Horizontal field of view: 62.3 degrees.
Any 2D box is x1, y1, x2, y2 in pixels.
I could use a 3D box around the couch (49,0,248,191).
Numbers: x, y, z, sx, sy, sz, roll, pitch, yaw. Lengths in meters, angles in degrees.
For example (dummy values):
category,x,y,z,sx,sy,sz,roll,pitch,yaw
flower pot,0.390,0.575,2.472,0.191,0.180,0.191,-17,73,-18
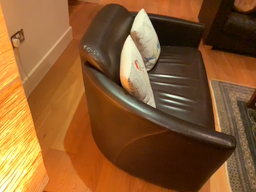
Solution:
category,x,y,z,sx,sy,sz,roll,pitch,yaw
couch,0.130,-0.150,1.520,0.790,0.690,1.250,11,43,2
